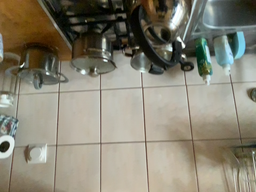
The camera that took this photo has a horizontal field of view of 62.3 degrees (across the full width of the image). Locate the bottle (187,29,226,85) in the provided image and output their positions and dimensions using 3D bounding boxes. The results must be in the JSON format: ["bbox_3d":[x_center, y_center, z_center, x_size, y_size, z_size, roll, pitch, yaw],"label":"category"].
[{"bbox_3d":[0.340,-0.170,0.940,0.090,0.200,0.120,-7,162,0],"label":"bottle"}]
